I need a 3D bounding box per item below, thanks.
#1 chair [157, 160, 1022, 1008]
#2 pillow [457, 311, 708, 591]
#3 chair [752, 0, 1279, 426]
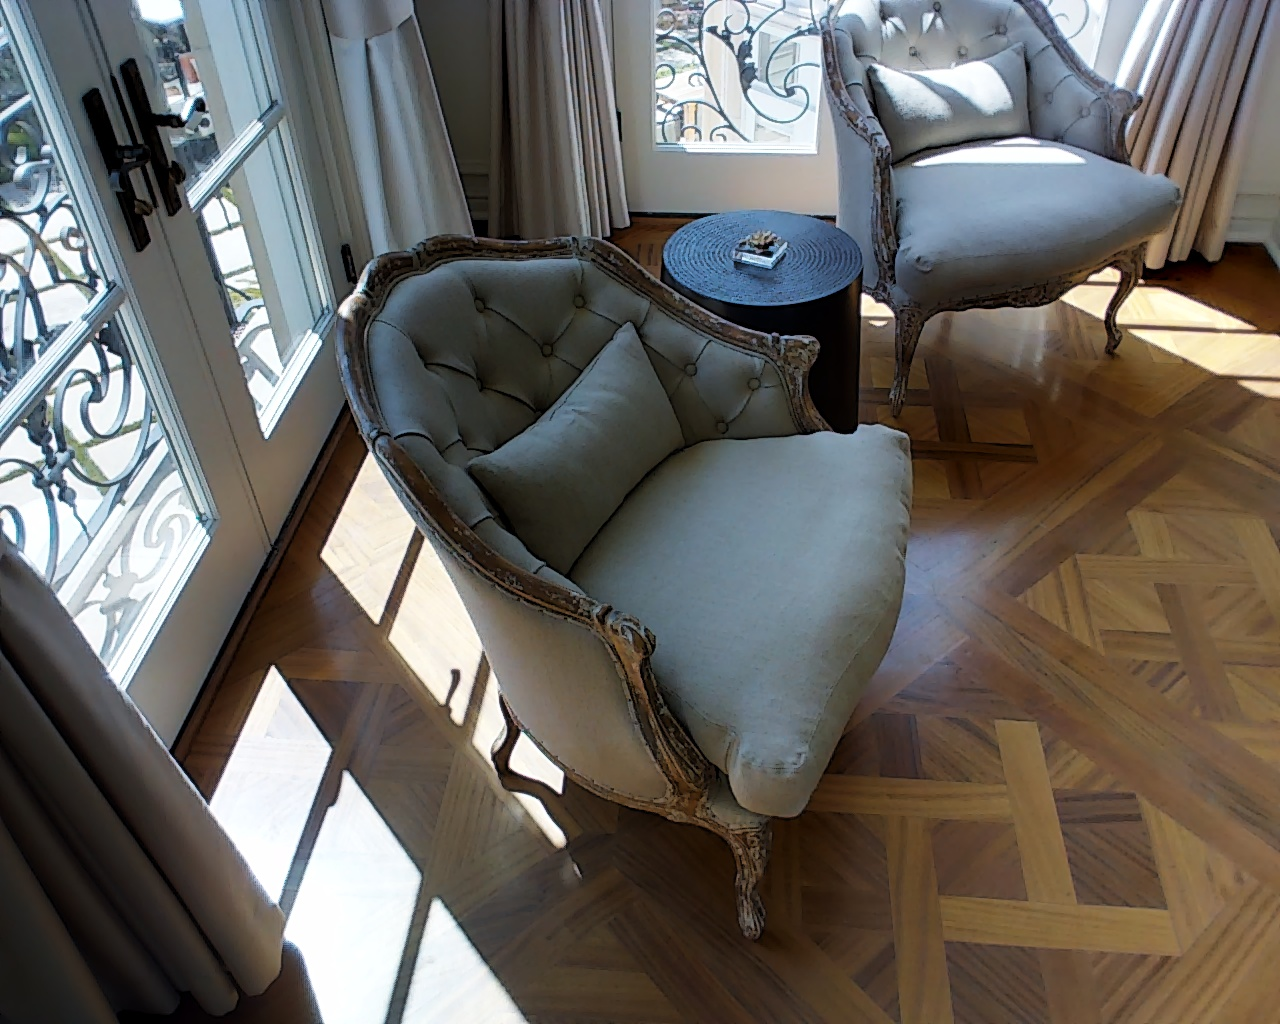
[{"bbox_3d":[0.000,0.060,1.760,0.930,0.850,0.830,14,44,18],"label":"chair"},{"bbox_3d":[-0.080,-0.110,1.700,0.140,0.230,0.450,33,40,6],"label":"pillow"},{"bbox_3d":[0.870,-0.880,2.720,0.870,0.830,0.840,-14,43,-13],"label":"chair"}]
